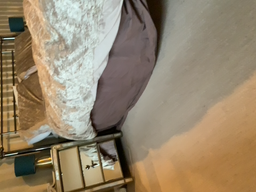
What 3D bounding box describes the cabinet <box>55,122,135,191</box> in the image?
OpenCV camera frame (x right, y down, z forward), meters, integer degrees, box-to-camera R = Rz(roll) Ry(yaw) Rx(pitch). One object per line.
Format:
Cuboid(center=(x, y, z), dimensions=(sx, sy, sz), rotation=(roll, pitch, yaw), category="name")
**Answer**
Cuboid(center=(-0.350, 0.650, 2.090), dimensions=(0.450, 0.610, 0.560), rotation=(118, 139, -59), category="cabinet")
